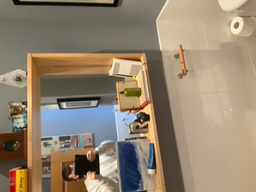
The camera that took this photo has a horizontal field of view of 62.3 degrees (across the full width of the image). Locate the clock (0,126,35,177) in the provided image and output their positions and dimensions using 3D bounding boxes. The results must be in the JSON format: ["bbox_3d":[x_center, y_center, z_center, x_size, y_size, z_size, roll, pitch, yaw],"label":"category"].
[{"bbox_3d":[-0.570,0.250,0.940,0.090,0.270,0.200,132,133,-70],"label":"clock"}]
